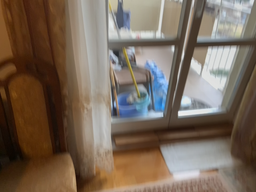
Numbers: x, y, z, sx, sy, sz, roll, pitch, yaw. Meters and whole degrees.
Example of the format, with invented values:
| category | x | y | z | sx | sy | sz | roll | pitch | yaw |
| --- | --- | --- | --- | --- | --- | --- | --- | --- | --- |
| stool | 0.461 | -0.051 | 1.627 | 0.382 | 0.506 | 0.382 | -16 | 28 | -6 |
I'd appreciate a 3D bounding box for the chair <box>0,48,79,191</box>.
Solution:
| category | x | y | z | sx | sy | sz | roll | pitch | yaw |
| --- | --- | --- | --- | --- | --- | --- | --- | --- | --- |
| chair | -0.560 | 0.370 | 1.180 | 0.480 | 1.090 | 0.580 | -5 | 33 | -12 |
